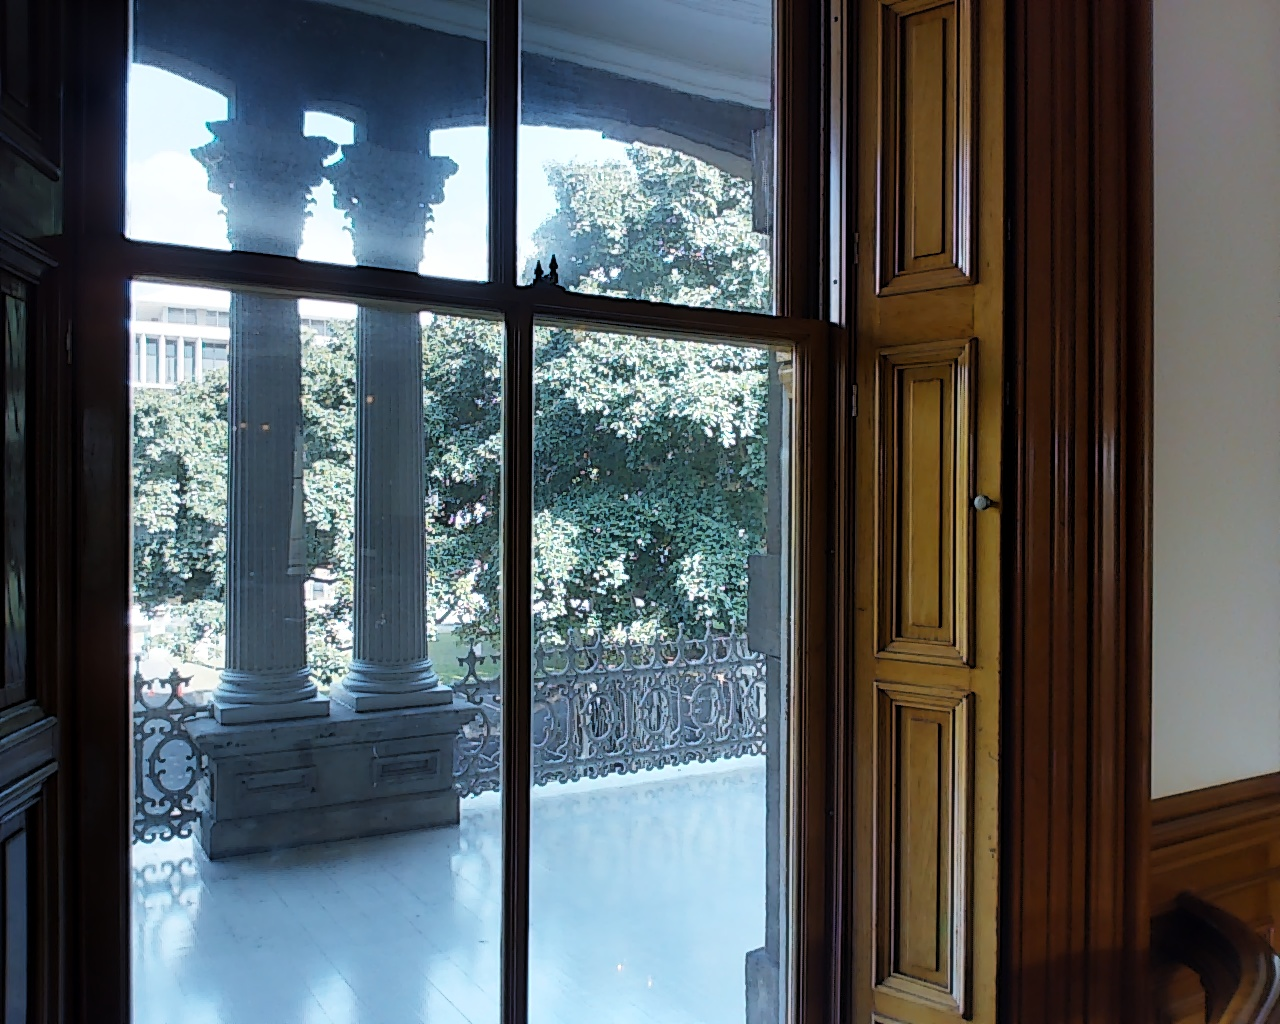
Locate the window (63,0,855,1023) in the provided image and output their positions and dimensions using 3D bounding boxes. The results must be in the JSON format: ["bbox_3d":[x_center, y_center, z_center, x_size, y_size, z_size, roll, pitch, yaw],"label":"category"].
[{"bbox_3d":[-0.200,-0.020,1.680,1.230,3.070,0.160,0,1,-30],"label":"window"}]
